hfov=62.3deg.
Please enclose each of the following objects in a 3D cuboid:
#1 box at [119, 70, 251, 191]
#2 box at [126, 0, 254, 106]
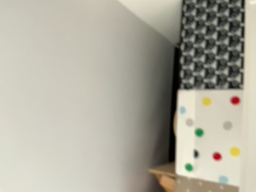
[{"bbox_3d":[0.330,0.190,1.030,0.600,0.430,0.410,26,-112,-54],"label":"box"},{"bbox_3d":[0.370,-0.170,1.090,0.650,0.450,0.330,21,-108,-55],"label":"box"}]
